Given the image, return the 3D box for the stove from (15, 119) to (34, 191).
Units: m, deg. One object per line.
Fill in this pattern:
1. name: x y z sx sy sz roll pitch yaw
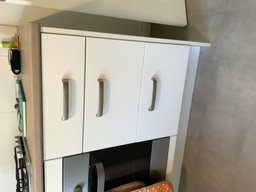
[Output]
1. stove: -0.560 0.490 1.150 0.550 0.030 0.580 26 115 55
